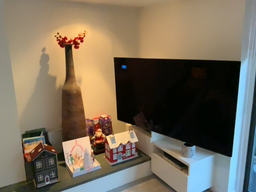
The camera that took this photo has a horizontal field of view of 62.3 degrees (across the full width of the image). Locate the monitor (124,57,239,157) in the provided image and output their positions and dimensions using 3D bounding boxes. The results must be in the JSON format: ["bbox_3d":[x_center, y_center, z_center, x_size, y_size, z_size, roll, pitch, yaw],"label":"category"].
[{"bbox_3d":[0.430,0.030,2.200,0.040,0.820,1.280,-15,19,-42],"label":"monitor"}]
